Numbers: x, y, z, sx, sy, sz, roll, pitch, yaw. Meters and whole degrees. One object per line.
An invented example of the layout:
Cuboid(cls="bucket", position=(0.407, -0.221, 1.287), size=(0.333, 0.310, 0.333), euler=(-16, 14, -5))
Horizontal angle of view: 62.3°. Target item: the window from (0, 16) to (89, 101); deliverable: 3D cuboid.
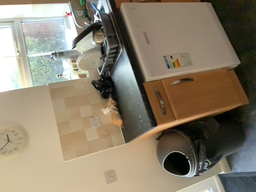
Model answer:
Cuboid(cls="window", position=(-1.000, -0.410, 2.100), size=(0.030, 1.030, 0.880), euler=(127, 128, -62))

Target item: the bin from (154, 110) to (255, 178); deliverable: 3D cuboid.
Cuboid(cls="bin", position=(0.630, 0.400, 1.780), size=(0.380, 0.640, 0.340), euler=(127, 129, -62))

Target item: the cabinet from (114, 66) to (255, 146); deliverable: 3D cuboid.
Cuboid(cls="cabinet", position=(0.420, 0.090, 1.720), size=(0.600, 0.900, 0.300), euler=(128, 127, -62))
